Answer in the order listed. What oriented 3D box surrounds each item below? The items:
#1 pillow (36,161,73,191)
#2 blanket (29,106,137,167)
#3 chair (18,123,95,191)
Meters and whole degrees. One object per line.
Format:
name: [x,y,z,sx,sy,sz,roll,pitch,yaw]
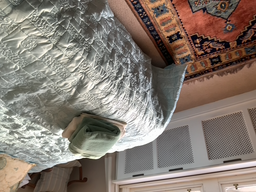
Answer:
pillow: [-0.970,1.070,2.790,0.410,0.370,0.190,10,144,-33]
blanket: [-0.260,0.290,1.350,0.480,0.140,0.450,-16,140,24]
chair: [-0.910,0.890,2.870,0.480,0.730,0.690,-19,139,28]
